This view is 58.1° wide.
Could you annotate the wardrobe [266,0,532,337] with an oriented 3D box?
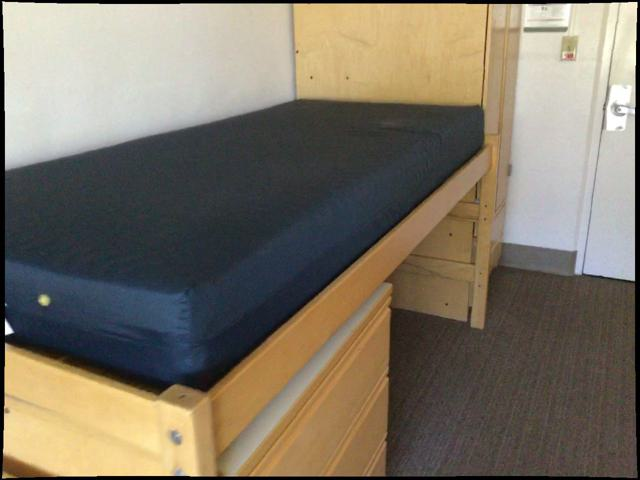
[{"bbox_3d":[0.439,-0.662,2.990,1.038,1.944,0.880,8,24,26],"label":"wardrobe"}]
